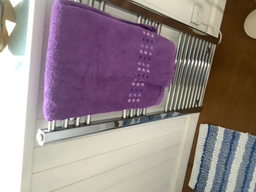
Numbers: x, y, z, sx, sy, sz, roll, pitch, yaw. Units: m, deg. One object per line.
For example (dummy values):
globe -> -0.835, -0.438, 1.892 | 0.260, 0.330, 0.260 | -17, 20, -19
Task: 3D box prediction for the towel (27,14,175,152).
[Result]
towel -> -0.040, -0.090, 0.680 | 0.150, 0.450, 0.320 | 18, 118, 36
